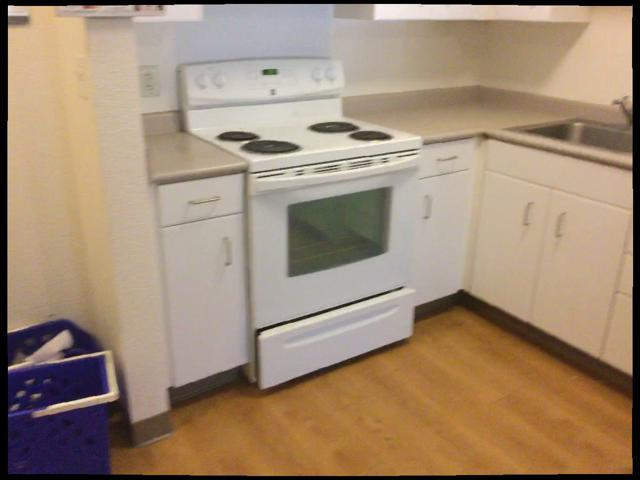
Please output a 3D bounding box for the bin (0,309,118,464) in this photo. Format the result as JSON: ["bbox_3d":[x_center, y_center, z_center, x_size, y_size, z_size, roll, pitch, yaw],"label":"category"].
[{"bbox_3d":[-0.998,0.501,2.040,0.420,0.311,0.320,-16,23,-31],"label":"bin"}]

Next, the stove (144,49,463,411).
[{"bbox_3d":[-0.080,-0.140,2.500,0.959,1.172,0.820,-16,29,-31],"label":"stove"}]

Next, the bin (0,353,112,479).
[{"bbox_3d":[-0.918,0.621,1.800,0.439,0.341,0.260,-11,27,-23],"label":"bin"}]

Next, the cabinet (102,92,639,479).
[{"bbox_3d":[0.459,0.100,2.310,2.008,0.901,1.669,-16,29,-31],"label":"cabinet"}]

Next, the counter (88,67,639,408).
[{"bbox_3d":[0.469,-0.361,2.160,2.088,0.170,1.839,-16,29,-31],"label":"counter"}]
